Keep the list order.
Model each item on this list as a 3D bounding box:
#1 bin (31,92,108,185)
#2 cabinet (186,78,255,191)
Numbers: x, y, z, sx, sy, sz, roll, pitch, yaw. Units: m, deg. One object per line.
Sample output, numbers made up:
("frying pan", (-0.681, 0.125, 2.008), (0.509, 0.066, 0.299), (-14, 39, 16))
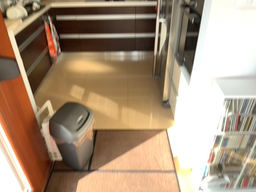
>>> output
("bin", (-0.470, 0.330, 1.760), (0.420, 0.480, 0.420), (-22, 40, -28))
("cabinet", (0.770, 0.310, 1.430), (0.590, 0.870, 0.210), (-1, 34, -1))
